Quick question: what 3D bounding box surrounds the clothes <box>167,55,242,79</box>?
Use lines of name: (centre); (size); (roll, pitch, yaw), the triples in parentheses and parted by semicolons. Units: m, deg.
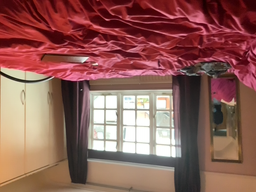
clothes: (0.550, -0.210, 1.670); (0.420, 0.100, 0.560); (0, 179, 4)
